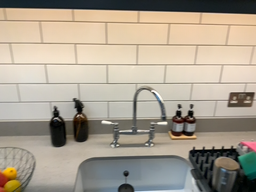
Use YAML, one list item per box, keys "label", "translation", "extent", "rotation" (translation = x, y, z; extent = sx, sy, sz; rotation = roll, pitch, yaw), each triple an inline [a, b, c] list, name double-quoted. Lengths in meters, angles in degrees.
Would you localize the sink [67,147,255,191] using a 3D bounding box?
- label: "sink"
  translation: [0.120, 0.450, 0.910]
  extent: [0.700, 0.270, 0.380]
  rotation: [0, 21, -5]
